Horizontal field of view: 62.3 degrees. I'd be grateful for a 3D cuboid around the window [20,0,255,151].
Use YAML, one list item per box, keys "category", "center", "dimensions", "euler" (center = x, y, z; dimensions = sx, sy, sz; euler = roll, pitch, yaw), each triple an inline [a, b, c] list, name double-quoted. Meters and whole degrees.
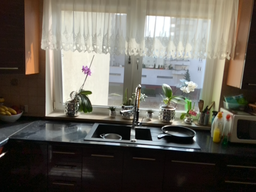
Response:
- category: "window"
  center: [0.030, -0.410, 2.170]
  dimensions: [2.210, 1.800, 0.170]
  euler: [4, 10, 2]
